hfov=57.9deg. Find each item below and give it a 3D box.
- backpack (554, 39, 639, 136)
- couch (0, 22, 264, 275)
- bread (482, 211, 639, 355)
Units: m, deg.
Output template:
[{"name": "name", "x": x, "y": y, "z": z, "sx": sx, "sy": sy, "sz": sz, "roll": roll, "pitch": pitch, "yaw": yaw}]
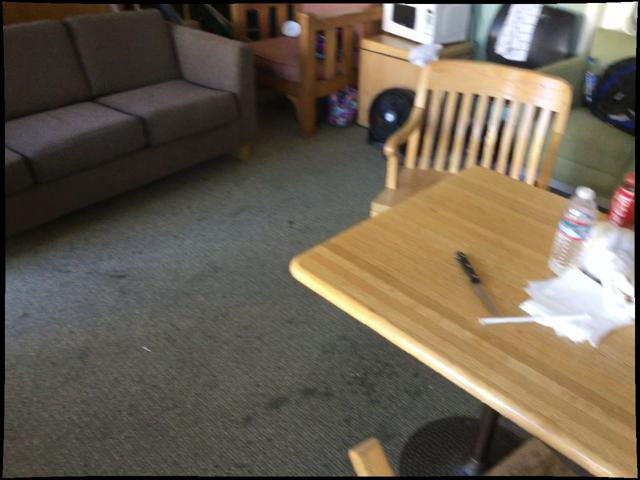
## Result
[{"name": "backpack", "x": 1.459, "y": -0.711, "z": 2.690, "sx": 0.430, "sy": 0.260, "sz": 0.510, "roll": -29, "pitch": 44, "yaw": -36}, {"name": "couch", "x": -1.179, "y": -0.460, "z": 2.720, "sx": 1.839, "sy": 0.670, "sz": 0.600, "roll": -29, "pitch": 44, "yaw": -36}, {"name": "bread", "x": 0.519, "y": 0.070, "z": 1.160, "sx": 0.210, "sy": 0.080, "sz": 0.300, "roll": -29, "pitch": 44, "yaw": -36}]
